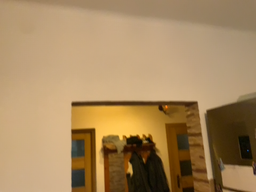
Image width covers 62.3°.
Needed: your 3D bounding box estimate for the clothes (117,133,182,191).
[{"bbox_3d":[0.360,1.240,3.570,0.960,1.170,0.340,0,-12,-17],"label":"clothes"}]
